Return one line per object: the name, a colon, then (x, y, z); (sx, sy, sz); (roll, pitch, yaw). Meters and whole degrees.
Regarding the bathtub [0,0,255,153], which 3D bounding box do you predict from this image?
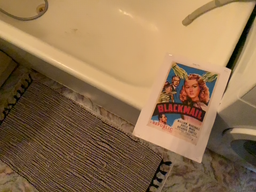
bathtub: (-0.200, -0.380, 1.060); (1.390, 0.600, 0.660); (28, 78, 12)
